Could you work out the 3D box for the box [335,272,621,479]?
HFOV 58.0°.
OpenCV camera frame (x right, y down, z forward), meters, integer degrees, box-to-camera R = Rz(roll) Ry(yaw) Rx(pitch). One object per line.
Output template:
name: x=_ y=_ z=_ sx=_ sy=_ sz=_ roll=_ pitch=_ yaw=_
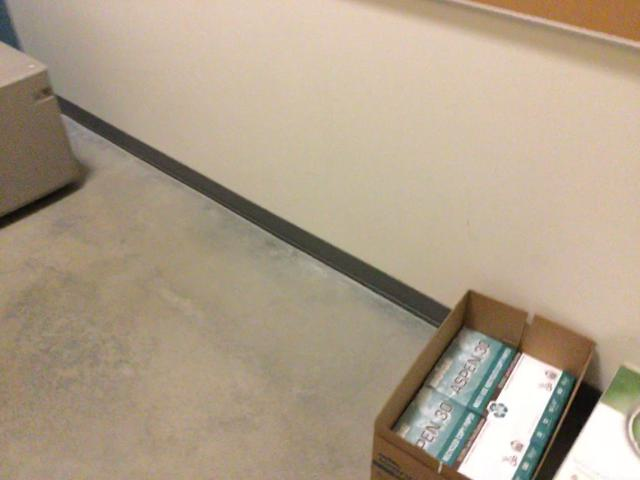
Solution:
box: x=0.340 y=0.370 z=1.280 sx=0.400 sy=0.250 sz=0.470 roll=28 pitch=46 yaw=31
